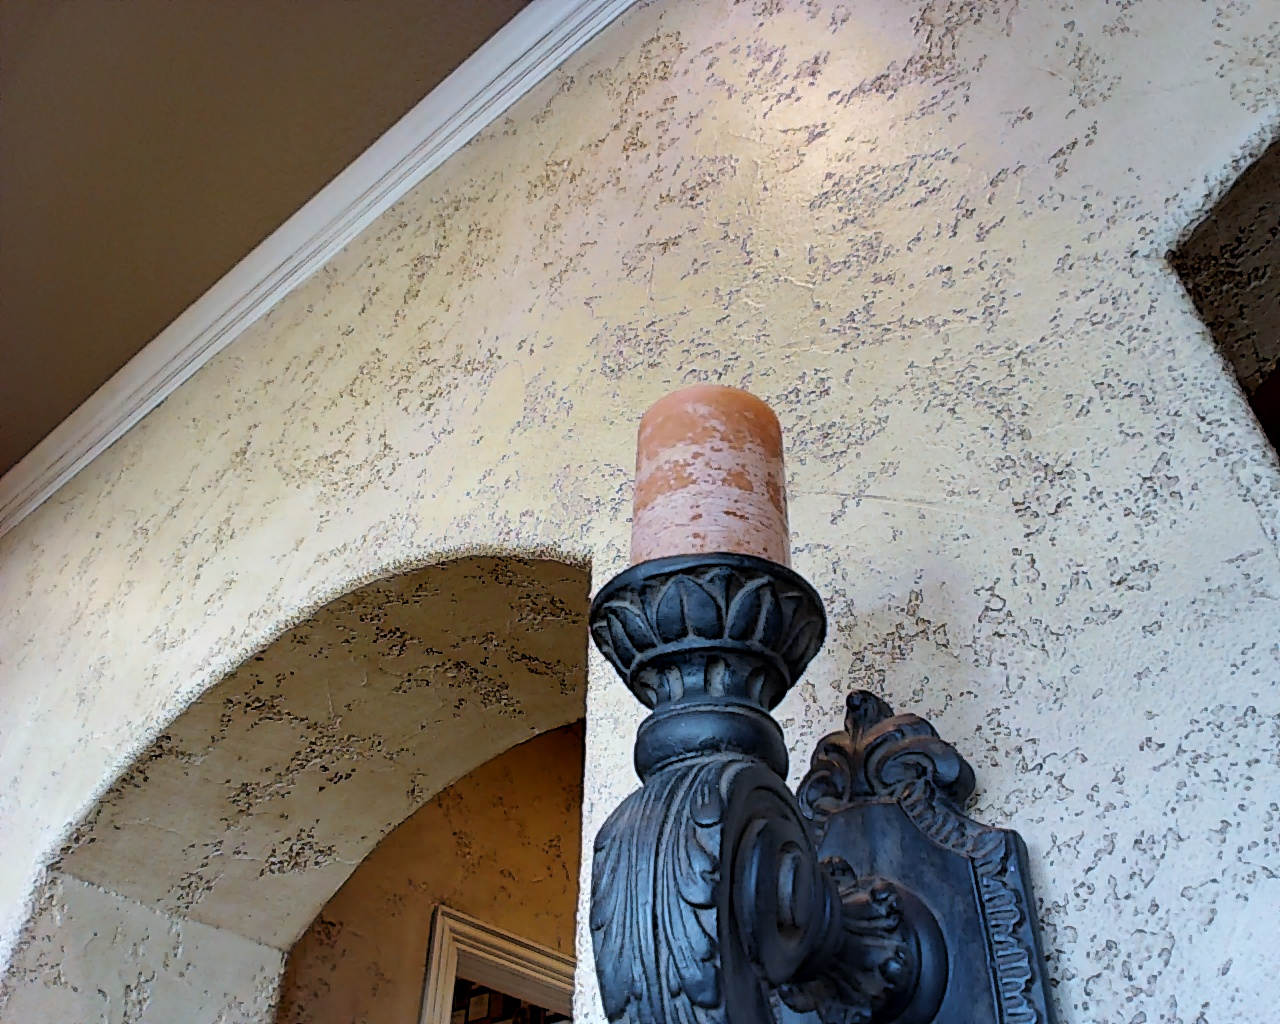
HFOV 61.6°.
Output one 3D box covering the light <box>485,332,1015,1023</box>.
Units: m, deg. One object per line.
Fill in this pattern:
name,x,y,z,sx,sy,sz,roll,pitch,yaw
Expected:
light,0.060,0.140,0.630,0.170,0.440,0.210,-30,-50,28
